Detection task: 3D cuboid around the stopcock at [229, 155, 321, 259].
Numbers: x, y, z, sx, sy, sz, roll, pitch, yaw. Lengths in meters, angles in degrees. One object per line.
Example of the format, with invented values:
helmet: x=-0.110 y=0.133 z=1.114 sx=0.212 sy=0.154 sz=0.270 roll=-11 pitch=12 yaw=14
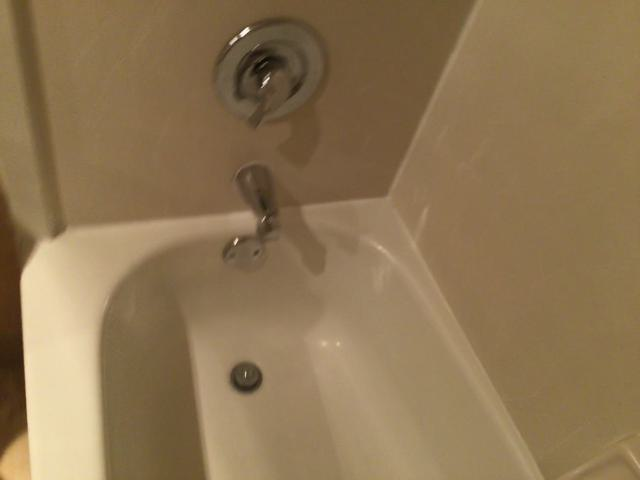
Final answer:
stopcock: x=-0.090 y=-0.060 z=1.090 sx=0.140 sy=0.200 sz=0.060 roll=-9 pitch=54 yaw=-20
